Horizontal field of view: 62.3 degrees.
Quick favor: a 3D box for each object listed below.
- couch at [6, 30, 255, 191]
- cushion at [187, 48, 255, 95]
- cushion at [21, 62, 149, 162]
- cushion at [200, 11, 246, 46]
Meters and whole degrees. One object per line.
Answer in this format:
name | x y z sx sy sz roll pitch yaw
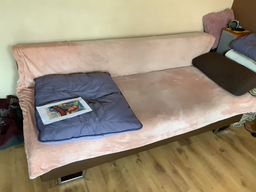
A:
couch | 0.160 -0.060 1.960 2.110 0.750 0.980 -10 37 -25
cushion | 0.980 -0.290 2.210 0.320 0.160 0.680 -11 38 -26
cushion | -0.350 0.030 1.560 0.700 0.190 0.750 -11 38 -26
cushion | 1.120 -0.810 2.520 0.340 0.330 0.240 -11 38 -25
